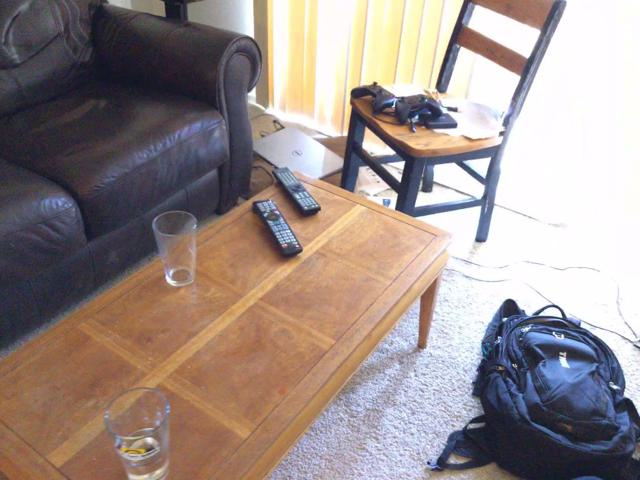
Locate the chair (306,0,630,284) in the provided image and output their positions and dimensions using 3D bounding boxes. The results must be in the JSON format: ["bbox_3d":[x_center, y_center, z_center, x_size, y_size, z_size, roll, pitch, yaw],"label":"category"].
[{"bbox_3d":[0.410,-0.410,1.960,0.640,0.870,0.580,-6,37,-23],"label":"chair"}]

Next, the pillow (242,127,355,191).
[{"bbox_3d":[-0.090,-0.340,2.360,0.360,0.070,0.290,34,38,32],"label":"pillow"}]
